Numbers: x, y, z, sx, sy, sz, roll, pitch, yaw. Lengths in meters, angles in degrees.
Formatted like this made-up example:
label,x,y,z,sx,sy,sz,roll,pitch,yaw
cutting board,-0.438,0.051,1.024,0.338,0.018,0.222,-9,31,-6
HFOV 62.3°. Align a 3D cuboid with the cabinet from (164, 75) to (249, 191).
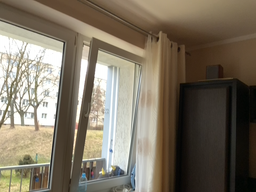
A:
label,x,y,z,sx,sy,sz,roll,pitch,yaw
cabinet,0.800,0.850,2.160,0.630,1.980,0.570,-3,-10,43
